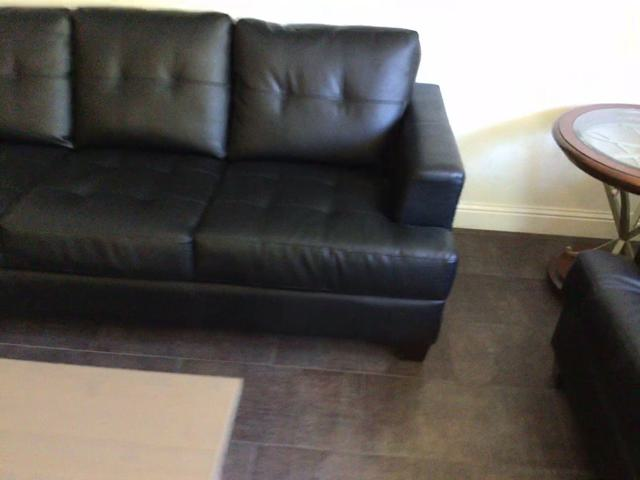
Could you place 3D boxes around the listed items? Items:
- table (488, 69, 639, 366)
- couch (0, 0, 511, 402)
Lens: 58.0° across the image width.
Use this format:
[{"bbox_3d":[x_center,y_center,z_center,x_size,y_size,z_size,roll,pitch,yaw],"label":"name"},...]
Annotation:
[{"bbox_3d":[1.100,-0.090,2.050,0.690,0.720,0.760,7,34,0],"label":"table"},{"bbox_3d":[-0.640,-0.270,2.040,2.170,0.970,0.970,7,34,0],"label":"couch"}]
